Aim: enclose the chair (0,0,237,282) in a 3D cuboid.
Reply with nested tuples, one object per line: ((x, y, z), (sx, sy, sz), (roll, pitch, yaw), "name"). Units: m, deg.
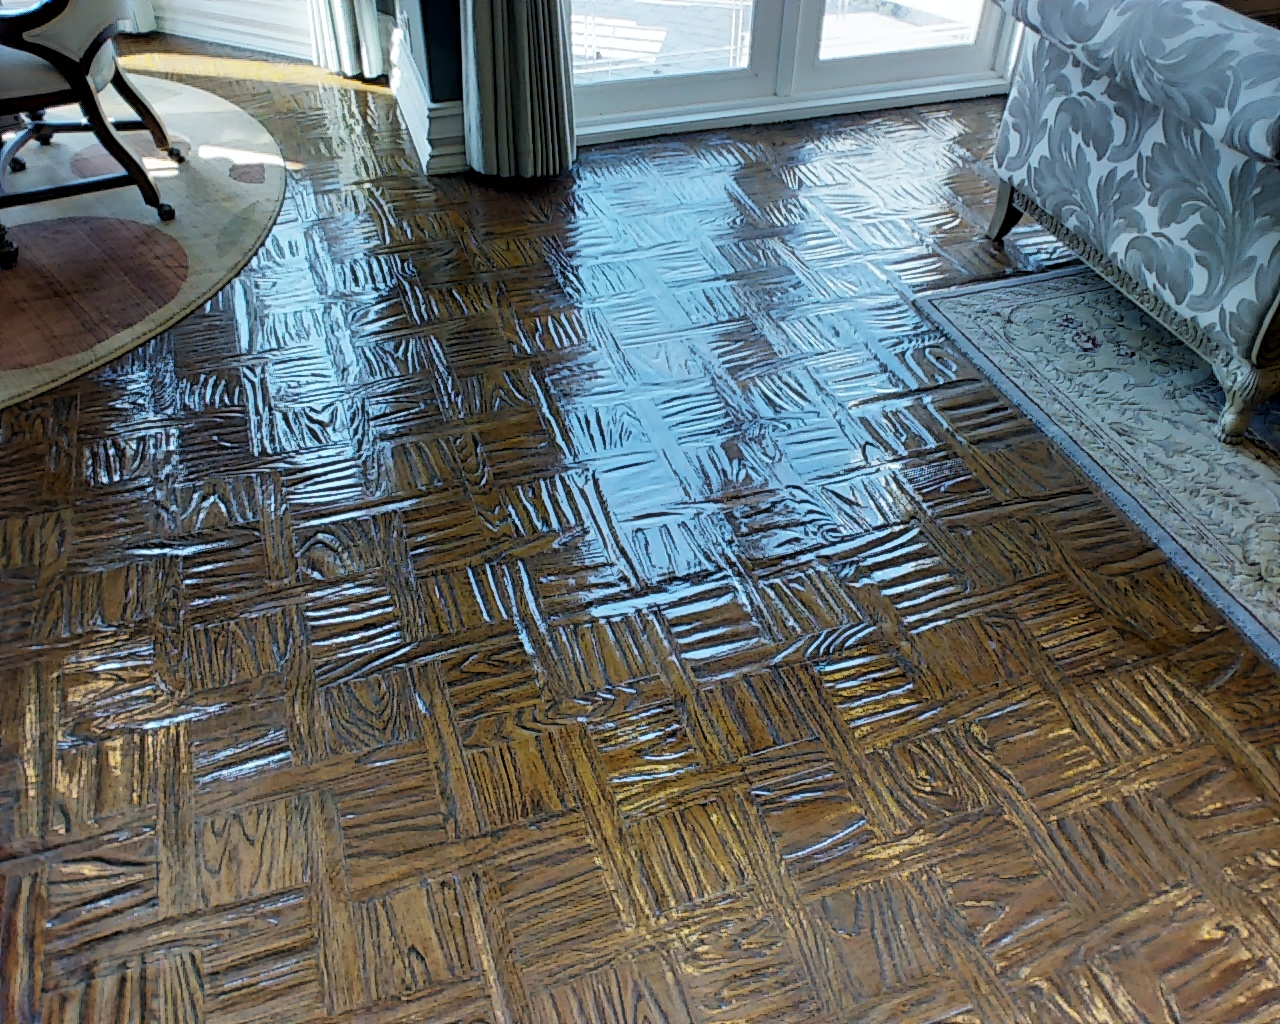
((-1.610, -1.310, 2.880), (0.710, 1.060, 0.780), (-8, 43, -10), "chair")

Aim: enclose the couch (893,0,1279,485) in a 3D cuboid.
((1.810, -0.960, 2.630), (1.850, 0.920, 1.160), (-12, 44, -14), "couch")
